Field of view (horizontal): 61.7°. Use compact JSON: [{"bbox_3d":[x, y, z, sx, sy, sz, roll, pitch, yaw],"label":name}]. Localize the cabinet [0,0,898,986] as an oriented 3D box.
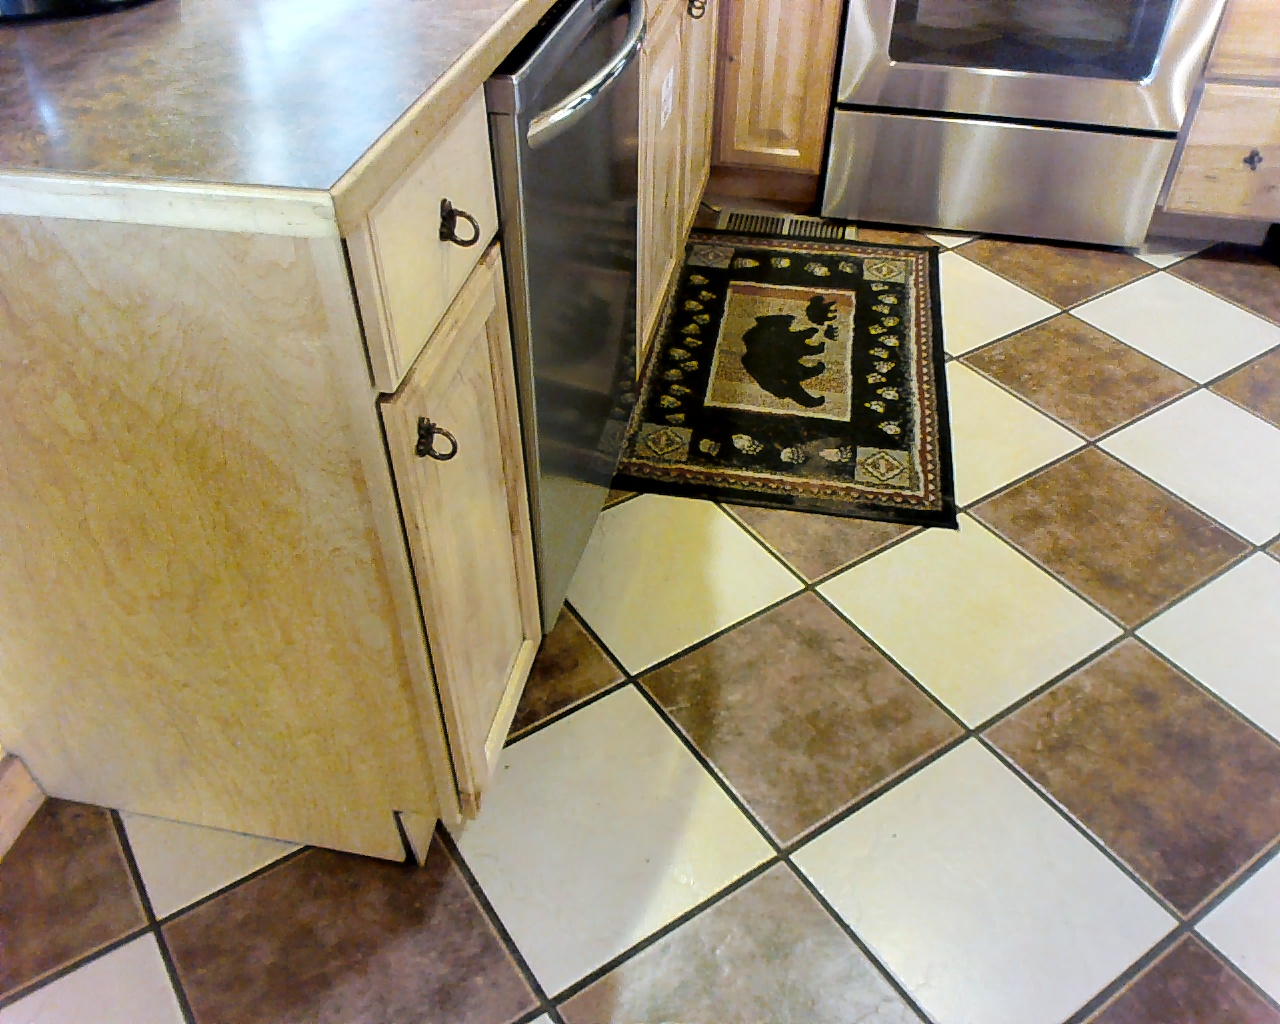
[{"bbox_3d":[-0.090,-0.680,1.890,0.970,0.880,2.500,8,42,9],"label":"cabinet"}]
